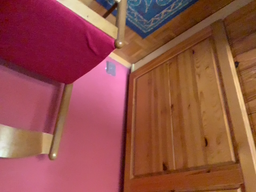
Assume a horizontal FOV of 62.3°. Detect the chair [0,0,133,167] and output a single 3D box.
[{"bbox_3d":[-0.320,-0.210,0.860,0.420,0.830,0.530,26,143,-33],"label":"chair"}]
